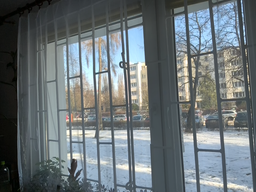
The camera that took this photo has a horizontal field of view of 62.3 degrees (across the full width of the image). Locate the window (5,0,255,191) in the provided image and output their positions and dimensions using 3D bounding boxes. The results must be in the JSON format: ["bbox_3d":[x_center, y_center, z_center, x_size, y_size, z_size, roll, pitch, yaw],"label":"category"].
[{"bbox_3d":[-0.250,-0.050,1.400,1.860,1.840,0.130,-3,-2,33],"label":"window"}]
